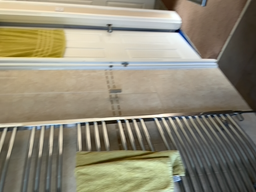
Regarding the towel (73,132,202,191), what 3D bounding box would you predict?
[{"bbox_3d":[0.020,0.350,1.000,0.300,0.530,0.140,-108,22,-46],"label":"towel"}]
